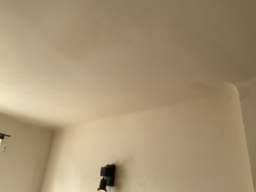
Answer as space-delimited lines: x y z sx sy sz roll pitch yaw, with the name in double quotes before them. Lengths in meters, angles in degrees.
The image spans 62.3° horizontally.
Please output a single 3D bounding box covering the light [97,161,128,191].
"light" -0.170 0.890 2.320 0.350 0.320 0.100 -19 -35 41
